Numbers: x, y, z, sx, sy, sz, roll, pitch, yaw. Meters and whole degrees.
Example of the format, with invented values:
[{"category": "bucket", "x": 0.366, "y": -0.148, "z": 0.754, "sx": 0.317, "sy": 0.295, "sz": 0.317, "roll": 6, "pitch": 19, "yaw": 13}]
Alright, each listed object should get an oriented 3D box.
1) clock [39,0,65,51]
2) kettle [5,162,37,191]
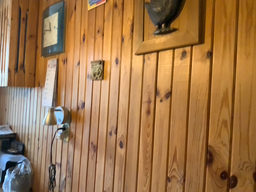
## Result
[{"category": "clock", "x": -0.490, "y": -0.460, "z": 1.360, "sx": 0.030, "sy": 0.300, "sz": 0.280, "roll": 3, "pitch": -1, "yaw": -44}, {"category": "kettle", "x": -0.740, "y": 0.580, "z": 1.470, "sx": 0.140, "sy": 0.180, "sz": 0.150, "roll": 2, "pitch": -1, "yaw": 45}]
